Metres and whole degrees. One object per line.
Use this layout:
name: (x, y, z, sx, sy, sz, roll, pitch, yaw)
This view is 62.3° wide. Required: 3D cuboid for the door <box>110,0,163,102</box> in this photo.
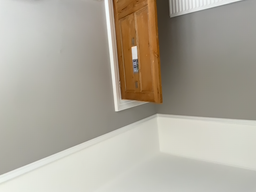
door: (0.040, -0.940, 2.520, 0.070, 1.970, 0.830, -9, -171, -33)
